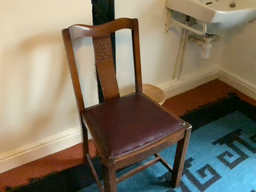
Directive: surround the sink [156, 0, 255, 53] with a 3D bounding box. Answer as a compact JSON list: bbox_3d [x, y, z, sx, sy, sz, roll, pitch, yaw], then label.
[{"bbox_3d":[0.550,-0.530,1.420,0.570,0.240,0.400,-17,40,-24],"label":"sink"}]
